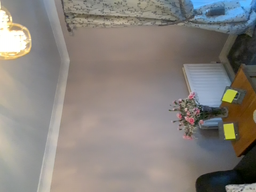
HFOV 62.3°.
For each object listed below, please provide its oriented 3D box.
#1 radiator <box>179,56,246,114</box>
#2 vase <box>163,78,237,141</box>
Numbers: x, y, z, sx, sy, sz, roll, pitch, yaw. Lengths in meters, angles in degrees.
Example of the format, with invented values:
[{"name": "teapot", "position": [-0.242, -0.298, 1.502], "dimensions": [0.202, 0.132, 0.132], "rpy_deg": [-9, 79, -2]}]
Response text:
[{"name": "radiator", "position": [1.020, -0.170, 2.680], "dimensions": [0.160, 0.560, 0.830], "rpy_deg": [94, 174, -51]}, {"name": "vase", "position": [0.630, 0.130, 1.990], "dimensions": [0.420, 0.460, 0.420], "rpy_deg": [94, 174, -52]}]
